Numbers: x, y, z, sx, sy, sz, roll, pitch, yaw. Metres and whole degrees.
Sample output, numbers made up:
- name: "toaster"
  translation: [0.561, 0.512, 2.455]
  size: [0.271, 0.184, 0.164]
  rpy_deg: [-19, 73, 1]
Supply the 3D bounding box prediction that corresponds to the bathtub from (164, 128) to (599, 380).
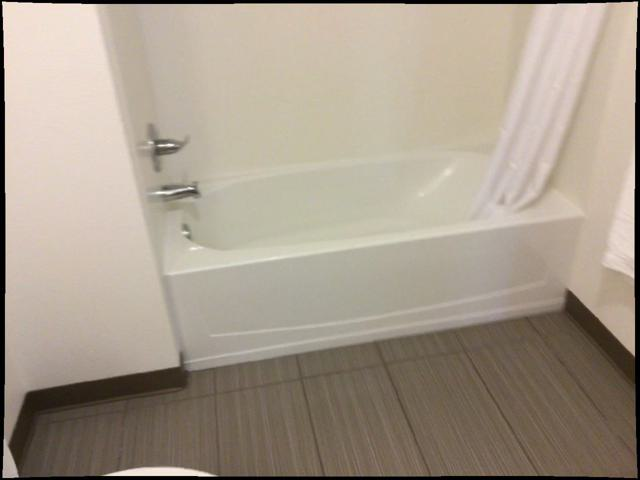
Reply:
- name: "bathtub"
  translation: [0.170, -0.010, 2.320]
  size: [1.469, 0.450, 0.780]
  rpy_deg: [-8, 34, -9]
